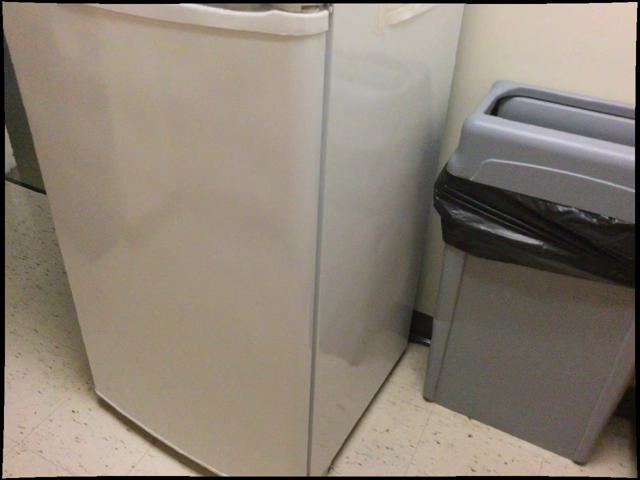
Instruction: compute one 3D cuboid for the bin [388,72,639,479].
[{"bbox_3d":[0.549,0.120,1.430,0.599,0.892,0.320,17,38,20],"label":"bin"}]
